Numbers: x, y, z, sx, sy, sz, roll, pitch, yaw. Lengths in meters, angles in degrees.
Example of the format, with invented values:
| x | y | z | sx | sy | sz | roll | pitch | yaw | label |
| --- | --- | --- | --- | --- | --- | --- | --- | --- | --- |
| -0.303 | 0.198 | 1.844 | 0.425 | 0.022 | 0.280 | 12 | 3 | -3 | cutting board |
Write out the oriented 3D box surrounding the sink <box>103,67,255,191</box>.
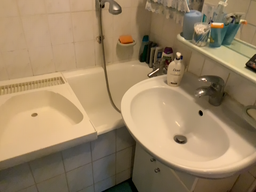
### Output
| x | y | z | sx | sy | sz | roll | pitch | yaw | label |
| --- | --- | --- | --- | --- | --- | --- | --- | --- | --- |
| 0.220 | 0.120 | 0.950 | 0.460 | 0.180 | 0.600 | -15 | 39 | -25 | sink |

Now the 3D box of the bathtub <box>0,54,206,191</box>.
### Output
| x | y | z | sx | sy | sz | roll | pitch | yaw | label |
| --- | --- | --- | --- | --- | --- | --- | --- | --- | --- |
| -0.280 | 0.220 | 1.490 | 1.380 | 0.610 | 0.680 | -15 | 39 | -25 | bathtub |
